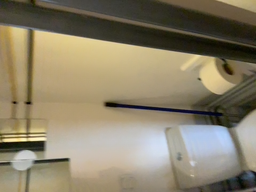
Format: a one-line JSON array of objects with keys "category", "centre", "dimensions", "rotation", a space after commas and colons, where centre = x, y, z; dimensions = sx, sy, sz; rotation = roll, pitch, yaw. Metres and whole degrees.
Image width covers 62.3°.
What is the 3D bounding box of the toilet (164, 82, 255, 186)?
[{"category": "toilet", "centre": [0.740, 0.250, 1.180], "dimensions": [0.660, 0.780, 0.350], "rotation": [135, 132, -57]}]
